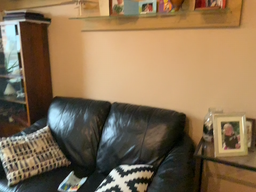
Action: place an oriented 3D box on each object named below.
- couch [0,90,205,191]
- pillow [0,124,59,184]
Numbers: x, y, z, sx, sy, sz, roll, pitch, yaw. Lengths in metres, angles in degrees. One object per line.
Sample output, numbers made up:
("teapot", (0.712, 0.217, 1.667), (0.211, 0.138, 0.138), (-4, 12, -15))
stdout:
("couch", (-0.340, 0.570, 1.700), (1.600, 0.910, 0.980), (8, 15, 26))
("pillow", (-0.850, 0.460, 1.860), (0.410, 0.170, 0.650), (-4, 15, -21))
